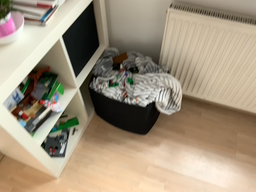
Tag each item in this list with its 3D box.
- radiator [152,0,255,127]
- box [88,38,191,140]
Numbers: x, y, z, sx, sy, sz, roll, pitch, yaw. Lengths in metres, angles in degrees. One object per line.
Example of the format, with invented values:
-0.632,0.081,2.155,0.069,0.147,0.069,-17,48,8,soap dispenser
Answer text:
0.860,-0.060,1.210,1.380,0.690,0.160,15,56,10,radiator
0.070,-0.040,1.350,0.490,0.400,0.330,21,57,14,box
